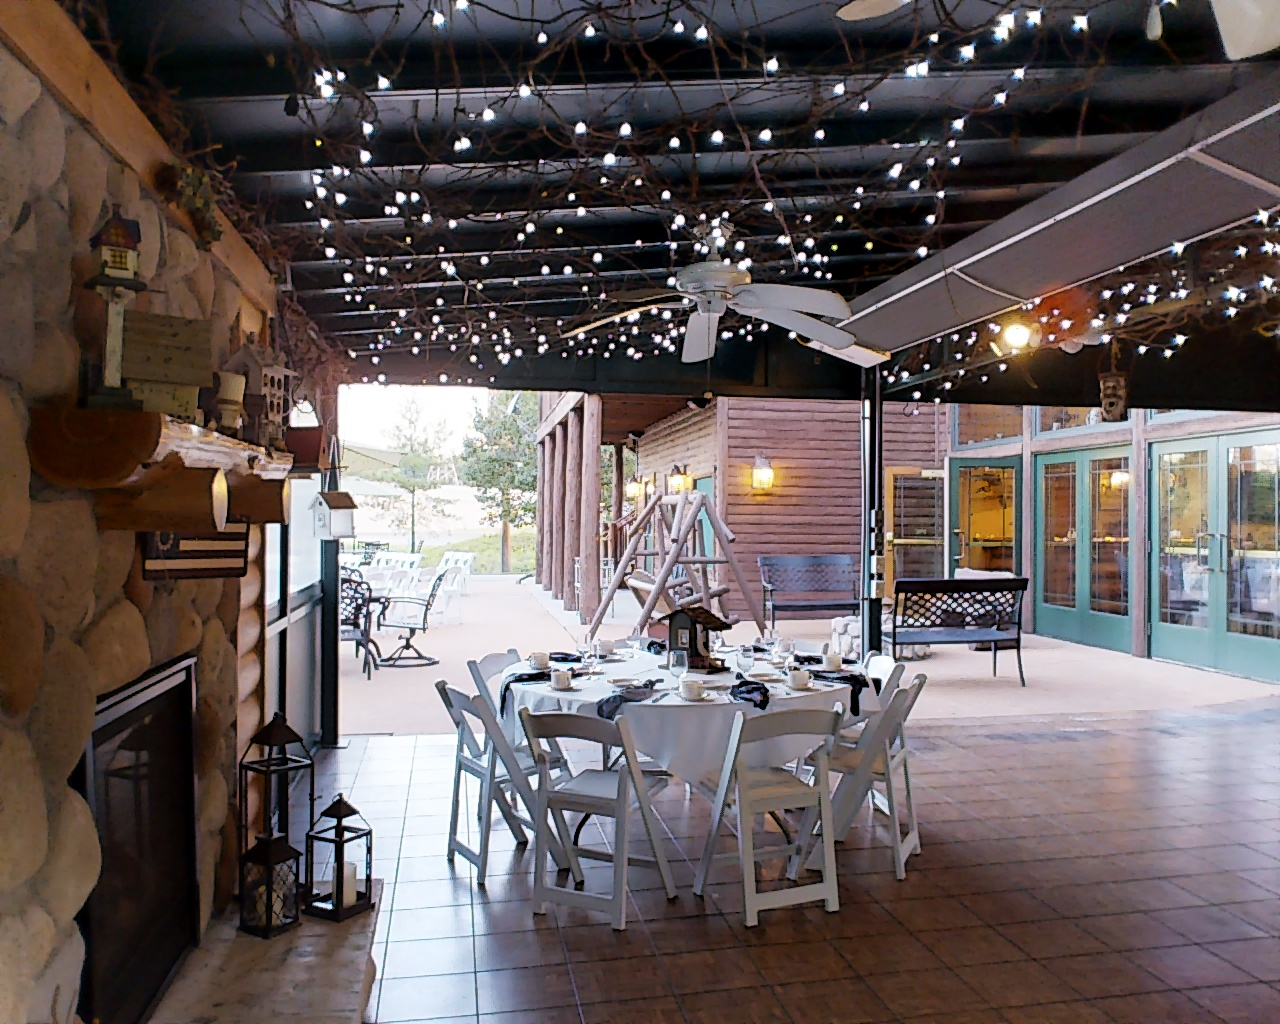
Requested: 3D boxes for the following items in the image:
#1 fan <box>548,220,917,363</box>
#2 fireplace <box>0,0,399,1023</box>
[{"bbox_3d":[0.300,-0.860,4.430,1.260,0.310,1.170,0,0,-10],"label":"fan"},{"bbox_3d":[-1.000,0.240,2.760,0.590,2.601,3.100,0,0,-10],"label":"fireplace"}]
